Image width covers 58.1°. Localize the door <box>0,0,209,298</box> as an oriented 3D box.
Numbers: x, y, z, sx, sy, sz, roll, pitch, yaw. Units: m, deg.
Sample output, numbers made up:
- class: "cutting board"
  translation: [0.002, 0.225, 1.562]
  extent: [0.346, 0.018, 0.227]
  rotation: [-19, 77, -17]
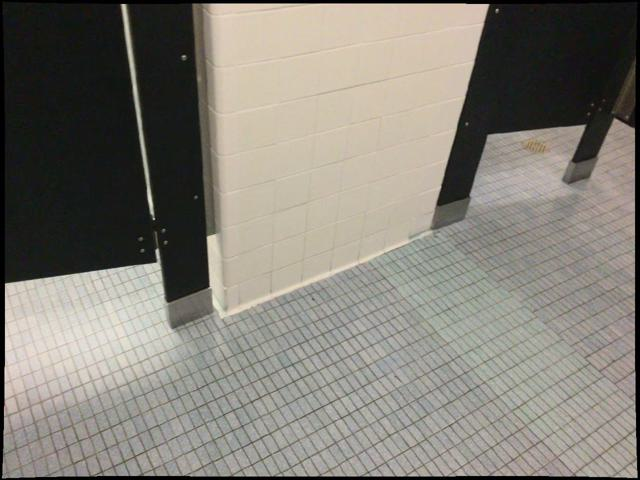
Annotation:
- class: "door"
  translation: [-0.658, -0.241, 1.140]
  extent: [0.808, 0.881, 0.080]
  rotation: [-9, 41, -16]
